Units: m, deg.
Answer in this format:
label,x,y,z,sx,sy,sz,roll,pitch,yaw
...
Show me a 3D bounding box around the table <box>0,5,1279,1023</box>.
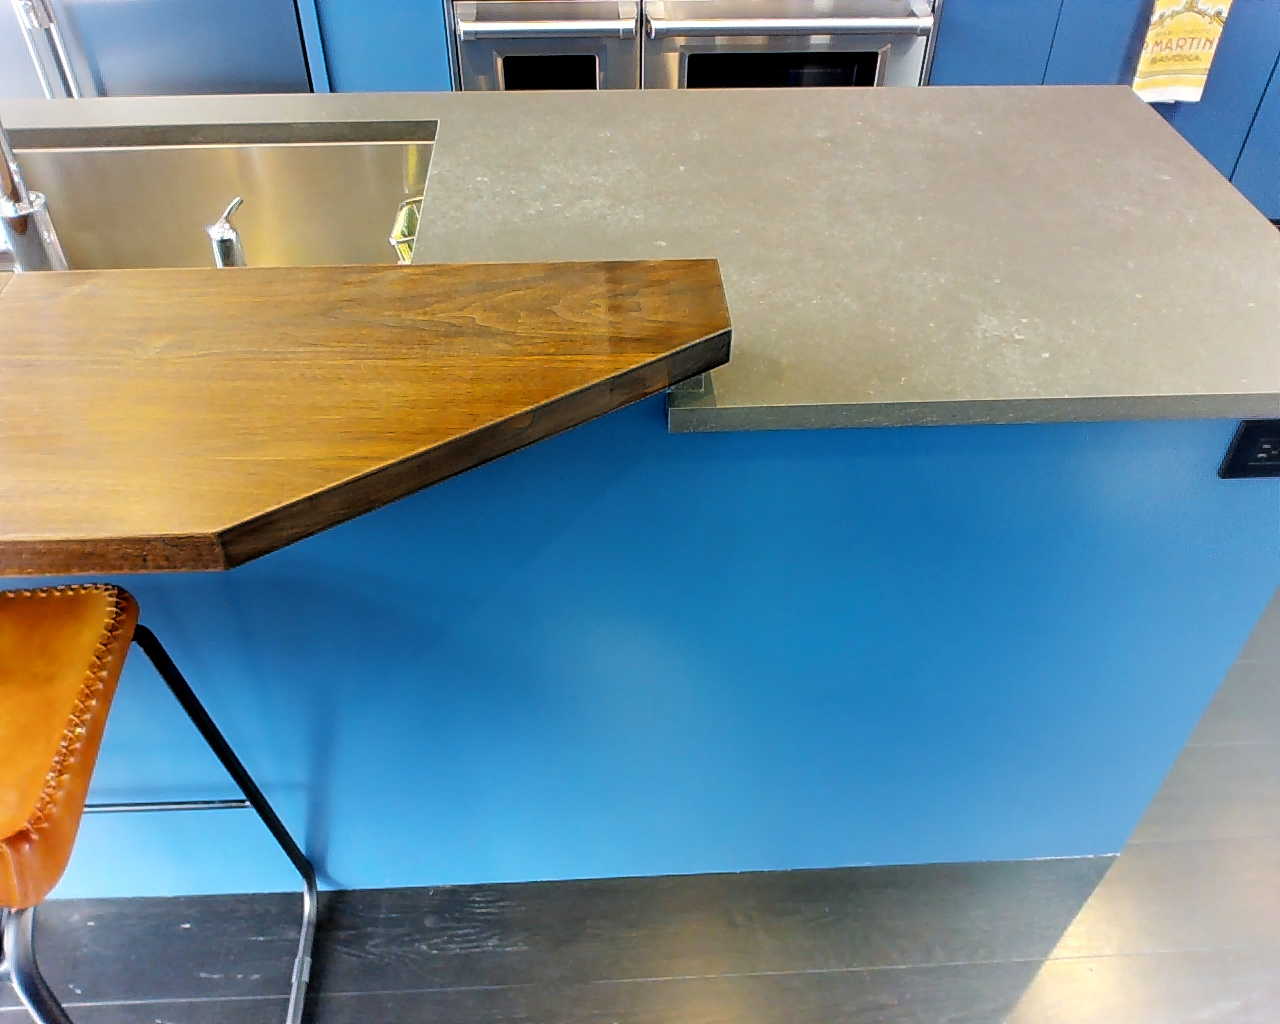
label,x,y,z,sx,sy,sz,roll,pitch,yaw
table,-0.830,0.040,1.490,3.300,1.040,1.100,-2,42,-3
